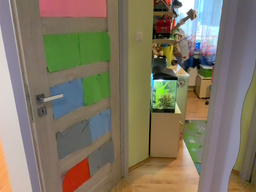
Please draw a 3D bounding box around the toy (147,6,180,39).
[{"bbox_3d":[0.390,-0.850,2.470,0.270,0.320,0.540,0,19,-1],"label":"toy"}]

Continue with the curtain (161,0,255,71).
[{"bbox_3d":[1.600,-1.560,4.240,1.720,2.120,0.210,0,19,1],"label":"curtain"}]

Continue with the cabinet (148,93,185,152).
[{"bbox_3d":[0.440,0.300,2.580,0.370,0.570,0.440,1,19,3],"label":"cabinet"}]
